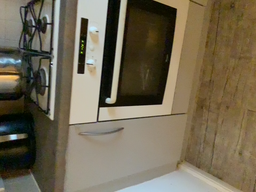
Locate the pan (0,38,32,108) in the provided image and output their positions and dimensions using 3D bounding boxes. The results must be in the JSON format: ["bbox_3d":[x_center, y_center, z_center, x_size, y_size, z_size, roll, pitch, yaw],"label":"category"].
[{"bbox_3d":[-0.600,-0.120,0.980,0.270,0.220,0.290,21,108,50],"label":"pan"}]

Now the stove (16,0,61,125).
[{"bbox_3d":[-0.420,-0.240,0.940,0.560,0.030,0.580,21,107,50],"label":"stove"}]
